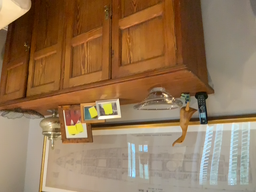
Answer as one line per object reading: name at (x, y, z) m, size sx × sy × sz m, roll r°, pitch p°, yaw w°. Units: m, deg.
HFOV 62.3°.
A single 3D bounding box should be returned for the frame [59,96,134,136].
frame at (-0.270, 0.190, 1.770) m, size 0.570 × 0.260 × 0.280 m, roll -10°, pitch 165°, yaw 35°
